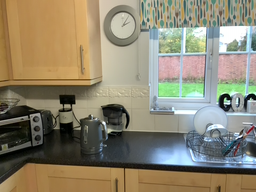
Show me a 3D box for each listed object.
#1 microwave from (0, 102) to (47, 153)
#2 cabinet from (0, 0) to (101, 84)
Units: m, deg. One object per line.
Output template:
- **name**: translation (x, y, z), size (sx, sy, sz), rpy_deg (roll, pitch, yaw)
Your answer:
- **microwave**: translation (-0.950, 0.220, 1.610), size (0.440, 0.220, 0.540), rpy_deg (-9, 13, -41)
- **cabinet**: translation (-0.560, -0.520, 1.610), size (0.630, 0.820, 0.330), rpy_deg (1, 10, 7)
